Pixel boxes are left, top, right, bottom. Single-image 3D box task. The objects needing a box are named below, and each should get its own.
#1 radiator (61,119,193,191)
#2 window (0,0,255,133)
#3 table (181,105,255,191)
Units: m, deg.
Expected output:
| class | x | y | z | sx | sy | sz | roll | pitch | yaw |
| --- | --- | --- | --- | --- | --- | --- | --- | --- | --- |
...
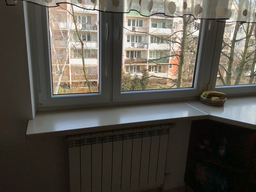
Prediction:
| class | x | y | z | sx | sy | sz | roll | pitch | yaw |
| --- | --- | --- | --- | --- | --- | --- | --- | --- | --- |
| radiator | 0.020 | 0.580 | 1.770 | 1.070 | 0.660 | 0.150 | -4 | 17 | -23 |
| window | 0.770 | -0.730 | 1.820 | 3.310 | 1.700 | 0.250 | -4 | 17 | -23 |
| table | 0.720 | 0.570 | 1.790 | 0.210 | 0.870 | 0.470 | -4 | 17 | -21 |
